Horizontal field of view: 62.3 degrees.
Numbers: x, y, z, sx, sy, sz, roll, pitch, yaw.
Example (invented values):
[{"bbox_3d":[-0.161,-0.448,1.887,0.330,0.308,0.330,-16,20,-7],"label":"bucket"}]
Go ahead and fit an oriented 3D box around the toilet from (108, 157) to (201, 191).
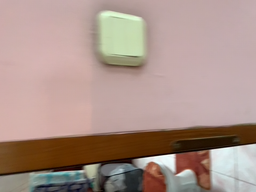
[{"bbox_3d":[0.230,0.950,1.880,0.400,0.720,0.640,176,94,-64],"label":"toilet"}]
